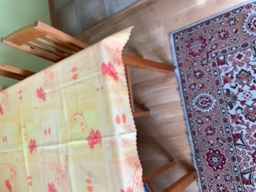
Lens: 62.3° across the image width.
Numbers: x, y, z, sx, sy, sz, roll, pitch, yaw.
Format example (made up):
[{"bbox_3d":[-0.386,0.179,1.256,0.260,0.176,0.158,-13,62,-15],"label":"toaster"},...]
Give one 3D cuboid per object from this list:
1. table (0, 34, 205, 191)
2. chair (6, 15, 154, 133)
[{"bbox_3d":[-0.270,0.260,1.440,1.190,0.760,0.790,-14,82,37],"label":"table"},{"bbox_3d":[-0.230,-0.090,1.350,0.390,0.850,0.500,-4,88,37],"label":"chair"}]
